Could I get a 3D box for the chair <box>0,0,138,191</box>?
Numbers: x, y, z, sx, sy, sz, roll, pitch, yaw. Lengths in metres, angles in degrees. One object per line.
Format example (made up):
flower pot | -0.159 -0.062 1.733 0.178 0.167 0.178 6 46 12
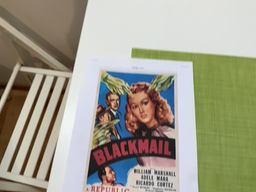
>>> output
chair | -0.260 0.070 0.760 0.520 0.750 0.470 6 68 2
